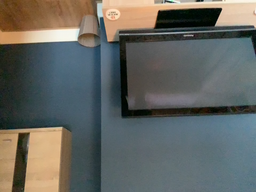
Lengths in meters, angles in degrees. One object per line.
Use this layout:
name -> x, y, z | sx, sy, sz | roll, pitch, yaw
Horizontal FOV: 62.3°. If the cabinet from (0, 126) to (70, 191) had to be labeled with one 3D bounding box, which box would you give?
cabinet -> -0.760, 0.700, 1.650 | 0.510, 0.870, 0.290 | -2, 162, -2
